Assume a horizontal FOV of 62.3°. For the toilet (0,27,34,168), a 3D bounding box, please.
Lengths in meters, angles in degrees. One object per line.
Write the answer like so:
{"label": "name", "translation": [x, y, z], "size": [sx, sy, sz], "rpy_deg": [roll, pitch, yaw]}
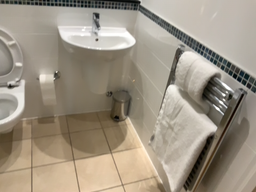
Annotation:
{"label": "toilet", "translation": [-0.930, 0.020, 1.500], "size": [0.390, 0.860, 0.510], "rpy_deg": [-5, 36, -20]}
